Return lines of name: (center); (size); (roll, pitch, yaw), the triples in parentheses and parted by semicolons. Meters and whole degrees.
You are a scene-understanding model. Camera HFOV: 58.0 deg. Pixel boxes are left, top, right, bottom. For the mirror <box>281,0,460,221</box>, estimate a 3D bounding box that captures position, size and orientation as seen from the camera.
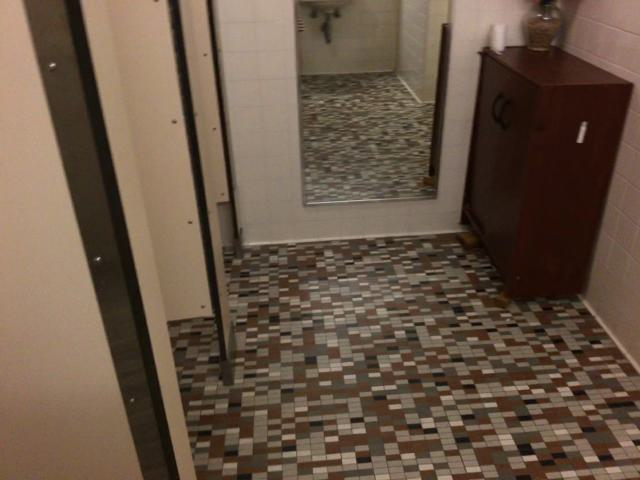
mirror: (0.200, -0.600, 2.390); (0.670, 1.050, 0.140); (-4, 29, -2)
